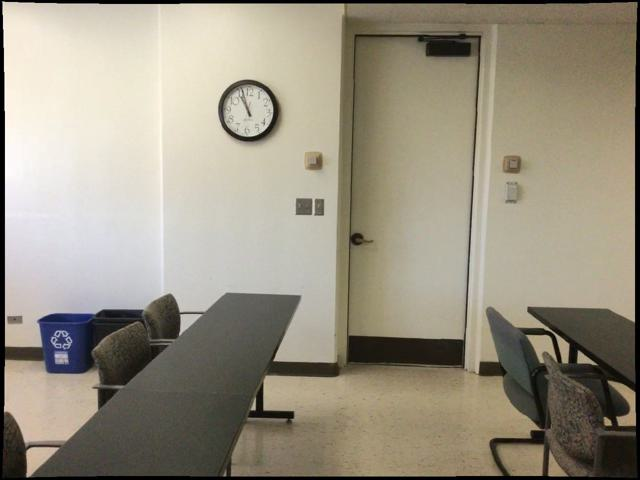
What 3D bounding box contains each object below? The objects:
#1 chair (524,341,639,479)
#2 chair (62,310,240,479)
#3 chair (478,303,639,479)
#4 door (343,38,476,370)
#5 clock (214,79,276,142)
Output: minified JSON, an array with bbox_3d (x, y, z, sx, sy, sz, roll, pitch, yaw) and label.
[{"bbox_3d":[1.137,0.842,2.130,0.549,0.772,0.580,1,8,2],"label":"chair"},{"bbox_3d":[-0.688,0.792,2.520,0.569,0.832,0.560,1,8,3],"label":"chair"},{"bbox_3d":[1.147,0.772,2.800,0.559,0.792,0.620,1,8,1],"label":"chair"},{"bbox_3d":[0.618,-0.221,4.150,0.868,2.346,0.120,1,8,3],"label":"door"},{"bbox_3d":[-0.499,-0.862,3.850,0.409,0.401,0.060,1,8,3],"label":"clock"}]
